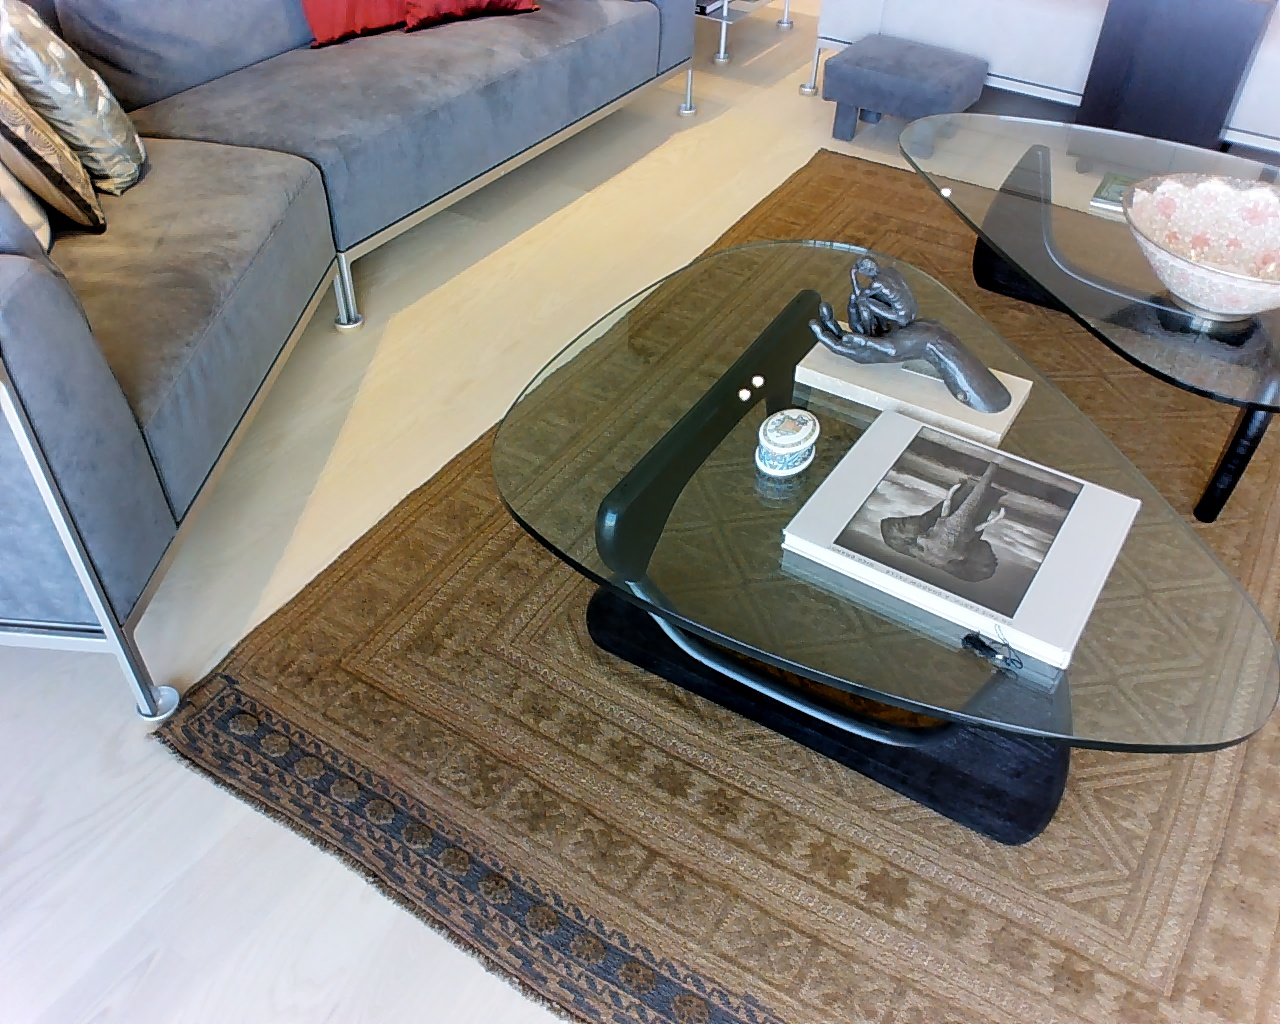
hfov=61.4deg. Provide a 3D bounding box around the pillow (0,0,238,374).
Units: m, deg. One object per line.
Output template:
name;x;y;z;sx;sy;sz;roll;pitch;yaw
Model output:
pillow;-1.140;-0.690;1.940;0.450;0.400;0.950;3;41;0
